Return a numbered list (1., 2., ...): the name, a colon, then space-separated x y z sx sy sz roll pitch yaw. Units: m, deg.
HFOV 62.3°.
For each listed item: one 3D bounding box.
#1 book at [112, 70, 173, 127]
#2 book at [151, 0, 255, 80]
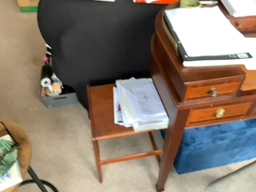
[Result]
1. book: 0.060 0.000 1.080 0.250 0.050 0.320 -5 46 -6
2. book: 0.280 -0.240 0.790 0.300 0.100 0.390 -6 46 -6
